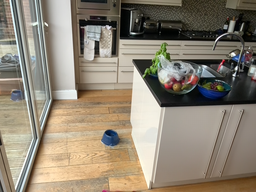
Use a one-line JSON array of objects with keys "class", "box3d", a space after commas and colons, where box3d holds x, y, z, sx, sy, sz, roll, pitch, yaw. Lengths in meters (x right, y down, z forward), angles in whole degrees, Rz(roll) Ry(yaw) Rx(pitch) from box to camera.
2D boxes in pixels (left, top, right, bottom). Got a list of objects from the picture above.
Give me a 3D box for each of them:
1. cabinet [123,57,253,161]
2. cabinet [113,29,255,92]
[{"class": "cabinet", "box3d": [0.520, 0.120, 2.230, 1.040, 0.900, 0.540, 0, 28, -9]}, {"class": "cabinet", "box3d": [1.240, -0.620, 3.840, 2.930, 0.900, 0.610, -1, 28, -10]}]
